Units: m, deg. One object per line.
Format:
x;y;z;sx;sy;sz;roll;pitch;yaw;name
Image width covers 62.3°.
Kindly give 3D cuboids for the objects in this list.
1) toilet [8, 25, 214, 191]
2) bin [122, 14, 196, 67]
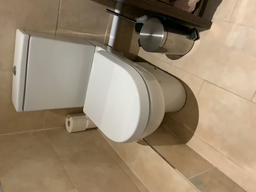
-0.100;-0.020;1.110;0.630;0.790;0.410;37;119;41;toilet
0.170;-0.300;1.170;0.220;0.290;0.190;39;120;41;bin
